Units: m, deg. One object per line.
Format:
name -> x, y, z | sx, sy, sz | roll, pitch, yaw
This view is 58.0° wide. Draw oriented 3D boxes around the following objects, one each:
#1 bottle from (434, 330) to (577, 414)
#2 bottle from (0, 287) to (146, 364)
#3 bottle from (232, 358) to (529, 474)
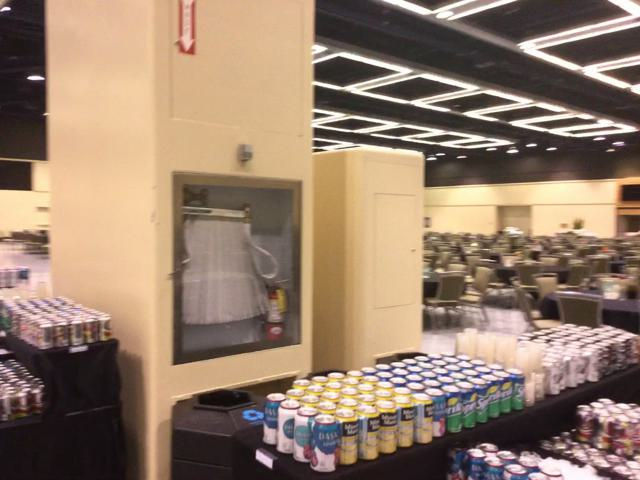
bottle -> 0.630, 0.440, 2.000 | 0.200, 0.180, 0.420 | 3, 1, -40
bottle -> -1.250, 0.390, 2.850 | 0.470, 0.160, 0.800 | 3, 6, -40
bottle -> 0.210, 0.470, 1.680 | 0.850, 0.110, 0.360 | 3, 1, -40
